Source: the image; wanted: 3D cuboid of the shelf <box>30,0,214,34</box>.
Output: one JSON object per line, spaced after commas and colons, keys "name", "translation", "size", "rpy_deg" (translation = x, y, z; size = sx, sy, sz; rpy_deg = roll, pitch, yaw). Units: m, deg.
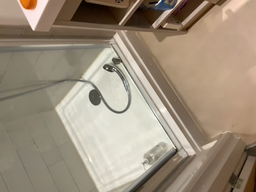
{"name": "shelf", "translation": [0.040, -0.400, 0.790], "size": [0.220, 0.780, 0.240], "rpy_deg": [-39, 78, 39]}
